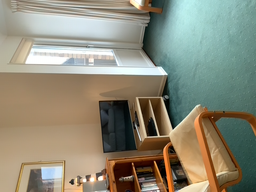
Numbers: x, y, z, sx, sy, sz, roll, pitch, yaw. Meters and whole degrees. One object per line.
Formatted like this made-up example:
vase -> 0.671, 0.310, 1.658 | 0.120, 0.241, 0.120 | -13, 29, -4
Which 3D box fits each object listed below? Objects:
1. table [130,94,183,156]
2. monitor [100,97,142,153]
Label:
table -> 0.340, 0.370, 2.810 | 0.420, 0.450, 0.660 | 107, 157, -49
monitor -> -0.110, 0.350, 2.770 | 0.060, 0.450, 0.740 | 110, 154, -54
